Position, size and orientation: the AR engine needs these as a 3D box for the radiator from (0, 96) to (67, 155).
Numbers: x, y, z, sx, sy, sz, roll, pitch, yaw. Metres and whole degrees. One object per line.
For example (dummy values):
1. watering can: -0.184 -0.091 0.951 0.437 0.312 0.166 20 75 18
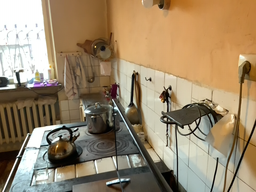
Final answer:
1. radiator: -1.650 0.430 2.900 1.500 0.690 0.190 -6 16 -17
